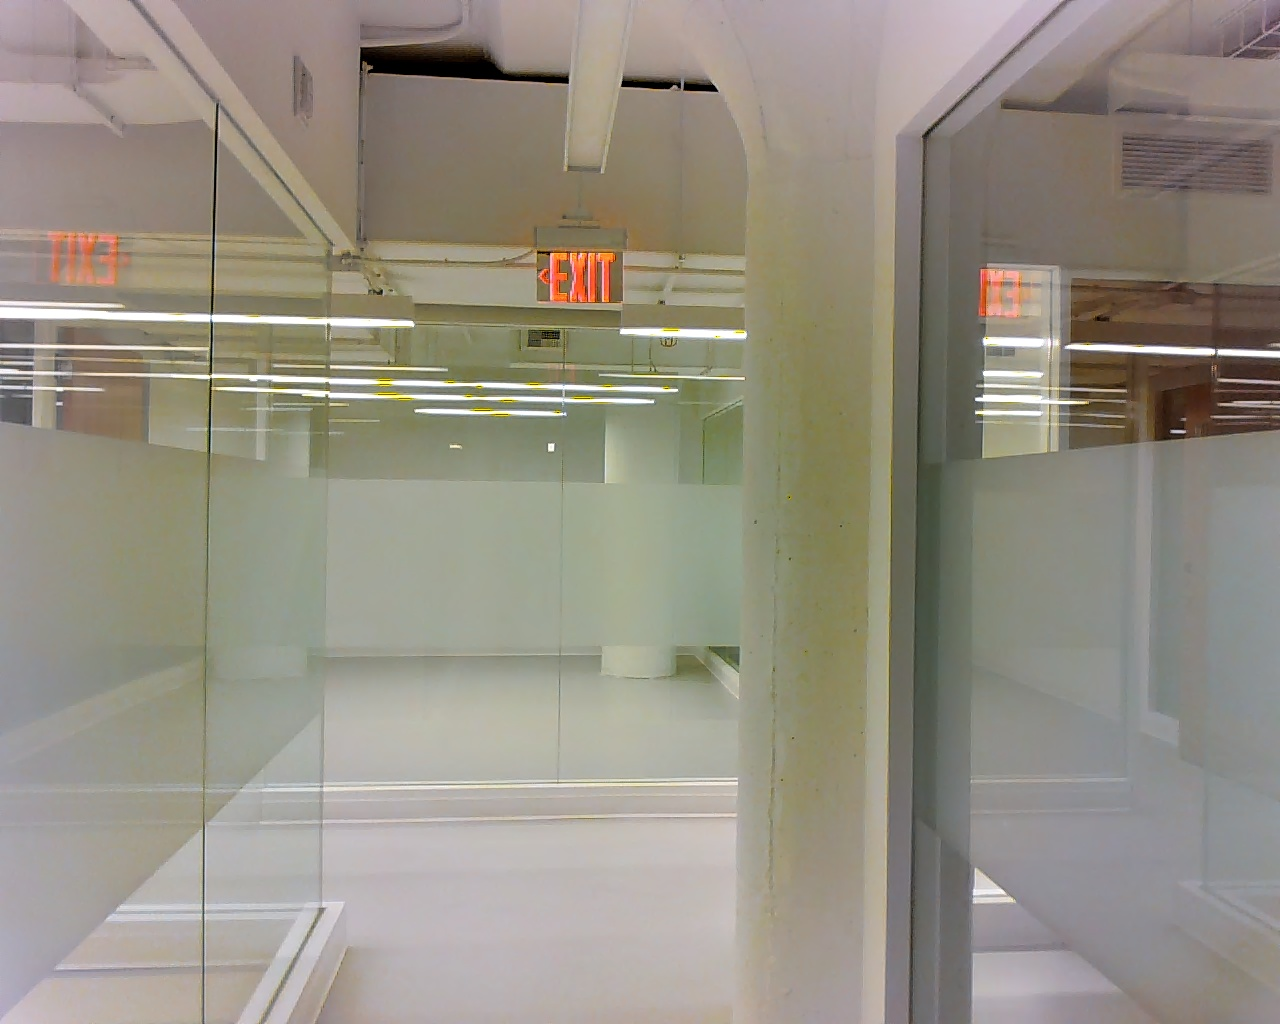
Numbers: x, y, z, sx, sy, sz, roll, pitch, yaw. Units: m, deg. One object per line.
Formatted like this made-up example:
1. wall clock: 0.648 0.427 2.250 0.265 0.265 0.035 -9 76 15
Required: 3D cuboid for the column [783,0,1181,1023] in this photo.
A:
1. column: 0.810 0.040 2.830 0.590 2.791 1.090 1 0 -6
